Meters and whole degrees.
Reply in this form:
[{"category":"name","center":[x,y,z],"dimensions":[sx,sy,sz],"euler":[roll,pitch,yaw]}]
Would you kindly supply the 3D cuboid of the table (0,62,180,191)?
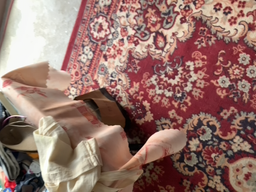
[{"category":"table","center":[-0.430,0.590,1.120],"dimensions":[0.740,0.610,1.300],"euler":[31,106,25]}]
